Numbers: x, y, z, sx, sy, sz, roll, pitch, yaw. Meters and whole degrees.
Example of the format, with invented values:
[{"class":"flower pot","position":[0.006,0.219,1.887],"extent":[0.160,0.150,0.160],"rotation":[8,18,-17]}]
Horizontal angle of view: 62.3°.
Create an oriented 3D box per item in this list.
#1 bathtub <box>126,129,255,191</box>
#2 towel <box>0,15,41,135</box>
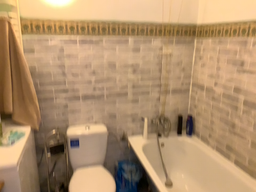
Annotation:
[{"class":"bathtub","position":[0.540,0.860,1.520],"extent":[0.680,0.560,1.690],"rotation":[-3,16,-16]},{"class":"towel","position":[-0.940,-0.150,1.610],"extent":[0.440,0.860,0.200],"rotation":[-4,16,-18]}]
